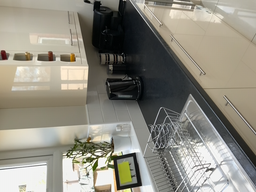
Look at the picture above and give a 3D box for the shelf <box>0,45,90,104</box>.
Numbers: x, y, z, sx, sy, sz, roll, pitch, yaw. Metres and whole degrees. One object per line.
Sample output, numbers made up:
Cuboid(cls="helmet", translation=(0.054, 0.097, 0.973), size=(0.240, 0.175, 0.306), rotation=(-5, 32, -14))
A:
Cuboid(cls="shelf", translation=(-0.690, -0.140, 1.440), size=(0.190, 0.810, 0.340), rotation=(-111, 26, -45))
